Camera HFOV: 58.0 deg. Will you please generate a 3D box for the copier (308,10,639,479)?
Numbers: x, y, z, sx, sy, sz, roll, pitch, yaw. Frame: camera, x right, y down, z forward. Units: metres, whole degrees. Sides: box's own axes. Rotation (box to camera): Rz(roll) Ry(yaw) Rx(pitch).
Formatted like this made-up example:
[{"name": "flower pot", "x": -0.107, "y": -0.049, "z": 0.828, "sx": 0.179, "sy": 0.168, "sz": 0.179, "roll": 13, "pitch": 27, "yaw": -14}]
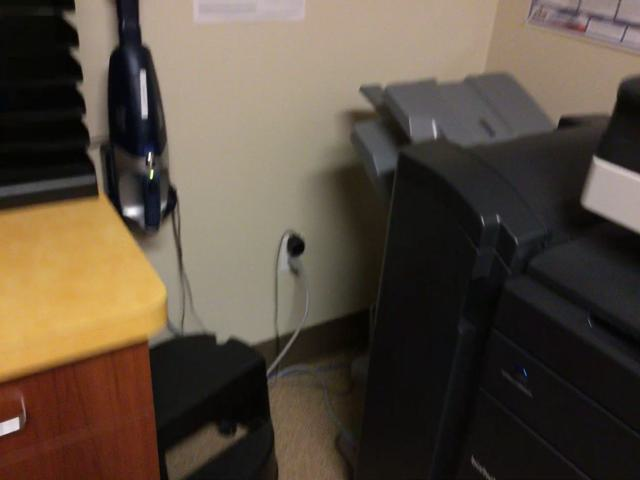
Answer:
[{"name": "copier", "x": 0.560, "y": 0.250, "z": 1.110, "sx": 0.650, "sy": 1.150, "sz": 1.120, "roll": -15, "pitch": 33, "yaw": -29}]
